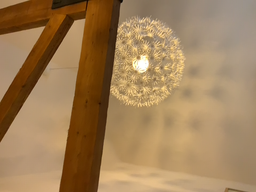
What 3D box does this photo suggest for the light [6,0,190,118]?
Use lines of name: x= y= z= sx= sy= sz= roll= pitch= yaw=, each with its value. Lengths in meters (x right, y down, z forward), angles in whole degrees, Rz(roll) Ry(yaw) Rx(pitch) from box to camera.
light: x=-0.340 y=-0.360 z=2.510 sx=1.840 sy=0.970 sz=1.060 roll=-7 pitch=77 yaw=25
